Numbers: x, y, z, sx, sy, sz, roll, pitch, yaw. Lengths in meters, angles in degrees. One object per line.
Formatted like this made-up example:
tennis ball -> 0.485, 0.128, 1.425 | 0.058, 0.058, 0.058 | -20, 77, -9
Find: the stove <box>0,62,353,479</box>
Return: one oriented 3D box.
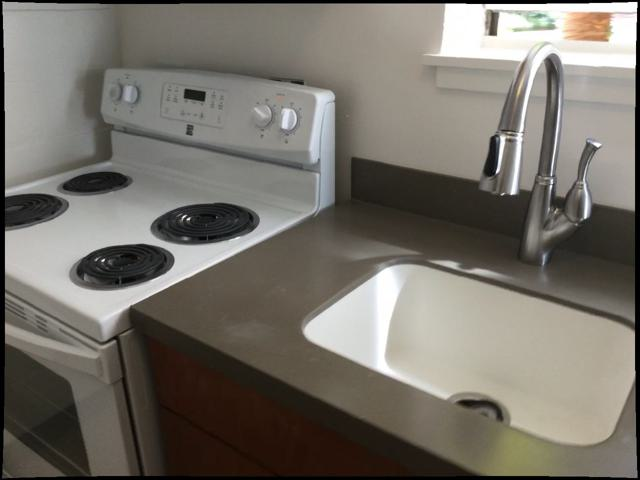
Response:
stove -> -0.549, 0.211, 1.560 | 0.988, 1.182, 0.780 | 15, 30, 33
